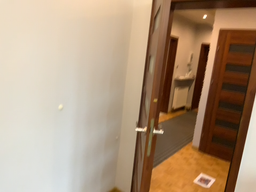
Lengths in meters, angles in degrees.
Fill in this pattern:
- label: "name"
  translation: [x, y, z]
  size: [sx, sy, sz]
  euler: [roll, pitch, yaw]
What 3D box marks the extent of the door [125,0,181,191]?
- label: "door"
  translation: [0.120, 0.260, 1.720]
  size: [0.120, 2.070, 0.920]
  euler: [6, 11, -2]
